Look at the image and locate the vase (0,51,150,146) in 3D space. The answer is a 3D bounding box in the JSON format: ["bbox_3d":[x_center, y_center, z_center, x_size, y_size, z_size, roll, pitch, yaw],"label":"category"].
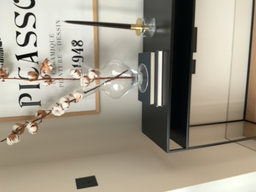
[{"bbox_3d":[-0.280,-0.020,1.080,0.260,0.730,0.390,-153,62,-69],"label":"vase"}]
